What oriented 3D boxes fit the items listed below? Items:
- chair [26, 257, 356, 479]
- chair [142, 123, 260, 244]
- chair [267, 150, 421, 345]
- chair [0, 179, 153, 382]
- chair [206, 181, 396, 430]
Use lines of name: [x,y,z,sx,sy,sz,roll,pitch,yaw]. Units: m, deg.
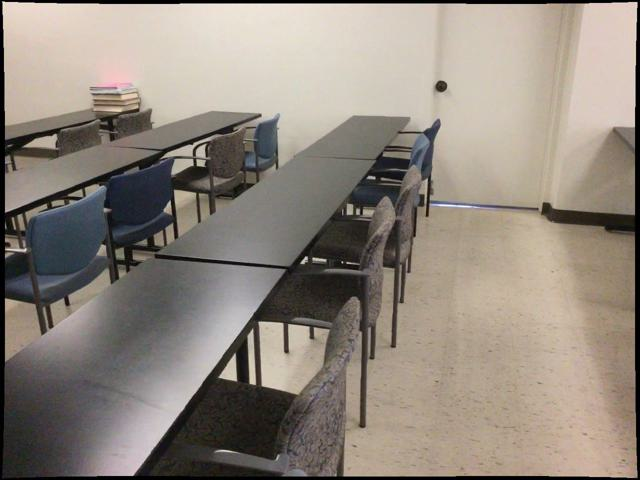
chair: [-0.239,0.531,1.490,0.549,0.772,0.580,4,22,15]
chair: [-0.798,-0.411,3.990,0.549,0.692,0.520,5,22,17]
chair: [0.150,0.000,2.840,0.609,0.752,0.620,4,22,14]
chair: [-1.207,0.150,2.620,0.579,0.712,0.540,5,22,16]
chair: [-0.020,0.211,2.280,0.579,0.722,0.660,3,22,11]
